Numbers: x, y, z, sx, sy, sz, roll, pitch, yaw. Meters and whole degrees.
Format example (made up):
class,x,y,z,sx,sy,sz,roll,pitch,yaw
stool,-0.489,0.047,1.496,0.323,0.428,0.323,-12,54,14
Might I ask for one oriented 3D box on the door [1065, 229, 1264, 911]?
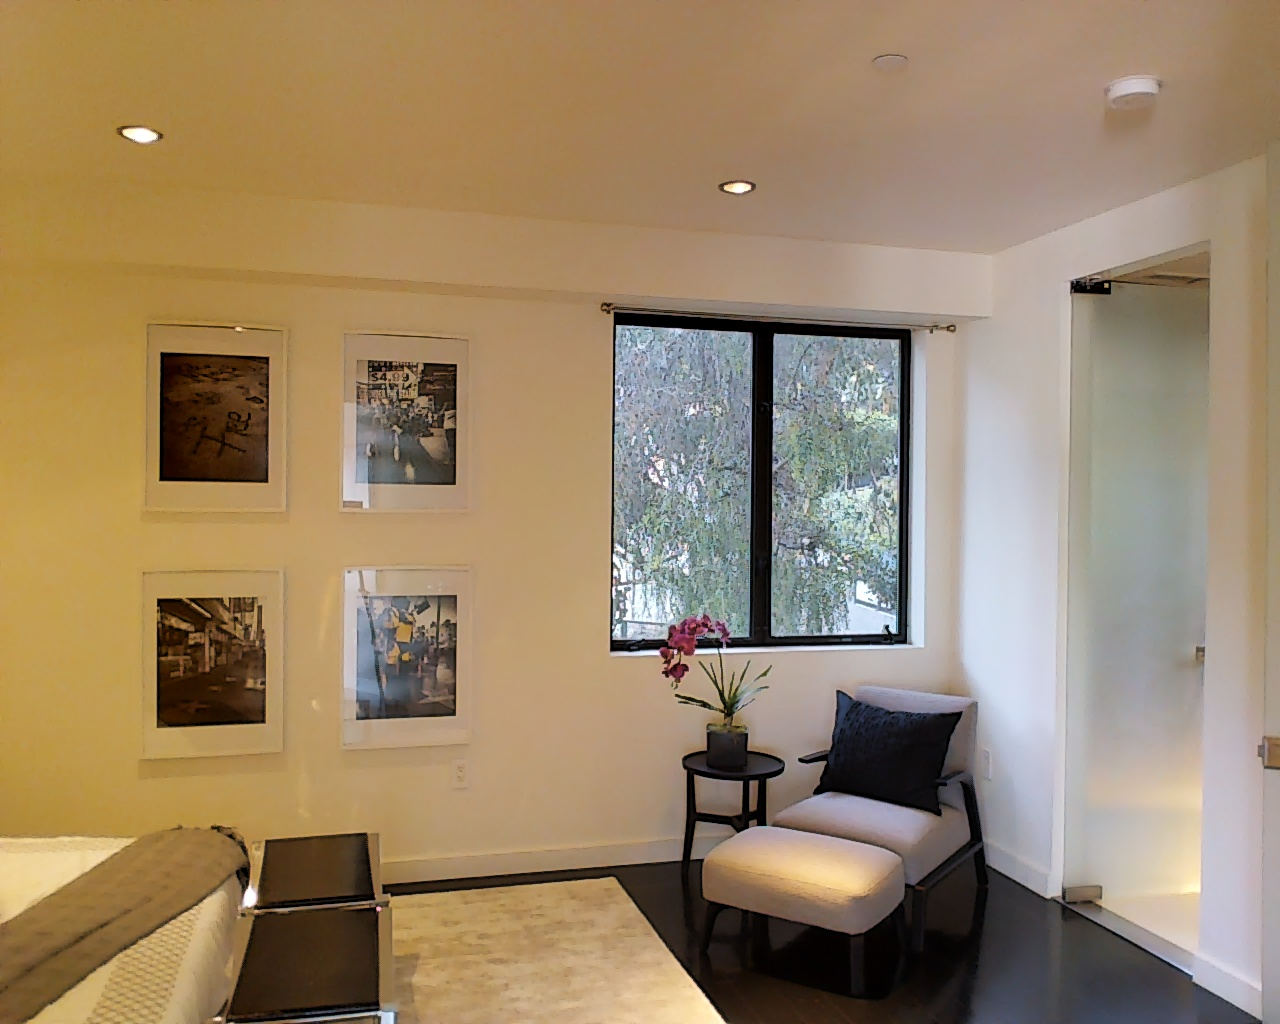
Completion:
class,x,y,z,sx,sy,sz,roll,pitch,yaw
door,2.090,0.230,4.280,0.800,2.640,0.080,0,0,-12
